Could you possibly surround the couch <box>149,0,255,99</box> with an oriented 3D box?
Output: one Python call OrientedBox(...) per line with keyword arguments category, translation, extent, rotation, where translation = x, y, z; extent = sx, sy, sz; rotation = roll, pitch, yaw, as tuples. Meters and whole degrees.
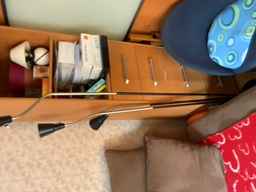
OrientedBox(category="couch", translation=(0.620, -0.360, 1.360), extent=(0.600, 0.680, 0.520), rotation=(124, 141, -54))
